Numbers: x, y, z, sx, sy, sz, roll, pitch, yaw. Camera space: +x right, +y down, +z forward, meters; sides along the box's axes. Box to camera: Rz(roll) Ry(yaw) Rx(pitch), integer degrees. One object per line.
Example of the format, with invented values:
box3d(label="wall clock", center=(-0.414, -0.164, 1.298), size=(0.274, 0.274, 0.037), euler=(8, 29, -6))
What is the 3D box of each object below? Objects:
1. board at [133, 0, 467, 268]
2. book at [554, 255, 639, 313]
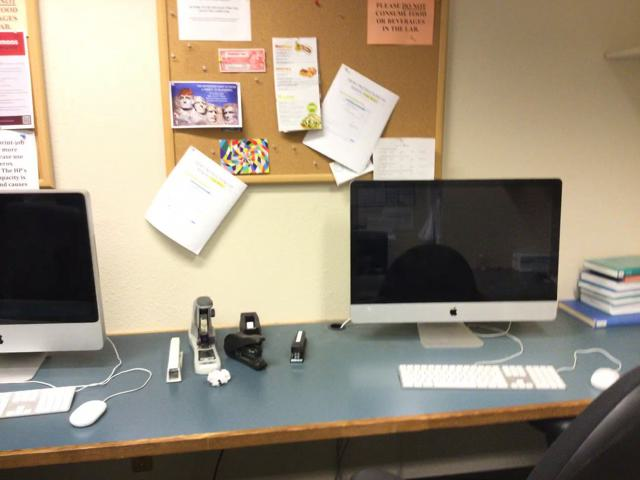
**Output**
box3d(label="board", center=(-0.050, -0.370, 1.840), size=(1.010, 0.880, 0.140), euler=(-1, 6, -10))
box3d(label="book", center=(1.020, 0.150, 2.040), size=(0.290, 0.160, 0.200), euler=(-1, 6, -10))
